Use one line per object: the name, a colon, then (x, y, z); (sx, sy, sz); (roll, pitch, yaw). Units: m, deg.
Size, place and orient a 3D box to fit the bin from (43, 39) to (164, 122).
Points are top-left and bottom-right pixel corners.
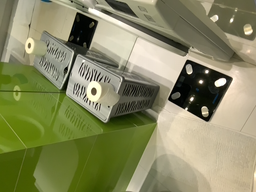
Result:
bin: (-0.140, -0.100, 1.340); (0.490, 0.520, 0.250); (34, 109, 31)
